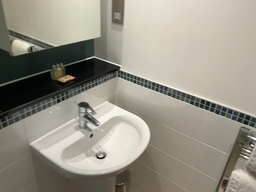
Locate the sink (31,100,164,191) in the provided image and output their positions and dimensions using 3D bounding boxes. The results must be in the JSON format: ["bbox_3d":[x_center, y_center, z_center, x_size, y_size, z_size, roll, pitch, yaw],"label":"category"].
[{"bbox_3d":[-0.130,0.270,1.140,0.410,0.170,0.560,23,34,30],"label":"sink"}]
